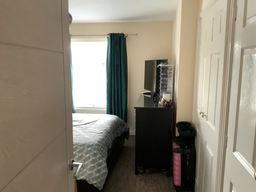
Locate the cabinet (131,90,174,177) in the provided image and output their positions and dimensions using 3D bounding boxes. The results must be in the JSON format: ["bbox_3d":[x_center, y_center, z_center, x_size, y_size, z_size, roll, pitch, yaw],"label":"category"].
[{"bbox_3d":[0.420,0.470,3.500,0.530,0.940,1.590,1,9,8],"label":"cabinet"}]
